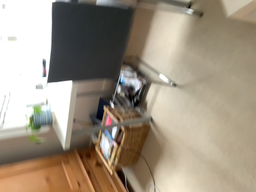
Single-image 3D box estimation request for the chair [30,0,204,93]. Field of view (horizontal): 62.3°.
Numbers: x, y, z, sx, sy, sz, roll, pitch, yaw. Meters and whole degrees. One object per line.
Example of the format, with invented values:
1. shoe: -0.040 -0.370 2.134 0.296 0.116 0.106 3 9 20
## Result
1. chair: -0.090 -0.360 1.300 0.530 0.850 0.420 46 130 45
